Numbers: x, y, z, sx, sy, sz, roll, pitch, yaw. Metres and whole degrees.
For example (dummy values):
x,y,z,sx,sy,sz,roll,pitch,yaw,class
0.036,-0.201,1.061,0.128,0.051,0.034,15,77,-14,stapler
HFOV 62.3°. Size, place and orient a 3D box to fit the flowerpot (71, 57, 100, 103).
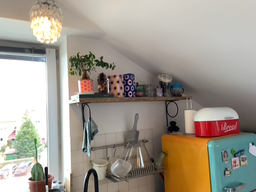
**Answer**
x,y,z,sx,sy,sz,roll,pitch,yaw,class
-0.350,-0.120,1.710,0.190,0.340,0.190,-2,-4,-20,flowerpot
